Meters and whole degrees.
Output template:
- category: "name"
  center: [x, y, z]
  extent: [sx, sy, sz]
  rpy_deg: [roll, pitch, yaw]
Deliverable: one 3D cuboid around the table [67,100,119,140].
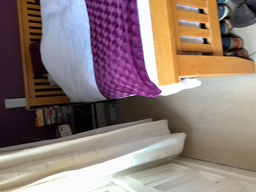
- category: "table"
  center: [-0.470, 0.300, 2.820]
  extent: [0.390, 0.550, 0.430]
  rpy_deg: [-9, 87, 59]
